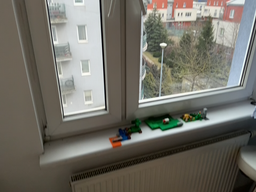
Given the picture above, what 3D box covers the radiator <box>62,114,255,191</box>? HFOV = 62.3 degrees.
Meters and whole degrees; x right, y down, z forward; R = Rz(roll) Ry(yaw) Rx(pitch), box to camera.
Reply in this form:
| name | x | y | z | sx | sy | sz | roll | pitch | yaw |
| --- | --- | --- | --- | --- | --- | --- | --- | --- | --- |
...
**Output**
| name | x | y | z | sx | sy | sz | roll | pitch | yaw |
| --- | --- | --- | --- | --- | --- | --- | --- | --- | --- |
| radiator | 0.300 | 0.610 | 1.470 | 1.370 | 0.720 | 0.150 | -10 | 27 | -22 |
